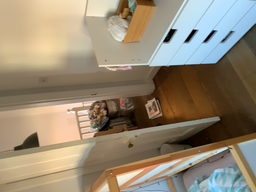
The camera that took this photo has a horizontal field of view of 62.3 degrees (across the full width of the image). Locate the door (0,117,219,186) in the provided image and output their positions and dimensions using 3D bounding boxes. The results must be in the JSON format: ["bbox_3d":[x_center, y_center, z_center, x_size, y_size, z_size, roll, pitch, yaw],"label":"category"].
[{"bbox_3d":[-0.220,0.460,1.730,0.720,1.920,0.030,121,137,-55],"label":"door"}]
